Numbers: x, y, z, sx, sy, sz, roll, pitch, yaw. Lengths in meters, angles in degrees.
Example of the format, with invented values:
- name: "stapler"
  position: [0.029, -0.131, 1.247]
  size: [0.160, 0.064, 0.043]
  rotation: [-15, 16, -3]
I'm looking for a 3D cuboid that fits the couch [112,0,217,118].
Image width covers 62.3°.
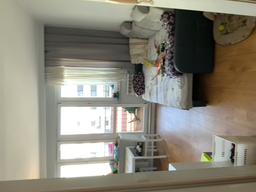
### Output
- name: "couch"
  position: [0.390, -0.570, 3.800]
  size: [2.260, 1.000, 1.480]
  rotation: [-155, 66, -76]

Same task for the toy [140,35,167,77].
- name: "toy"
  position: [0.410, -0.650, 3.620]
  size: [0.730, 0.190, 0.630]
  rotation: [-153, 64, -76]
